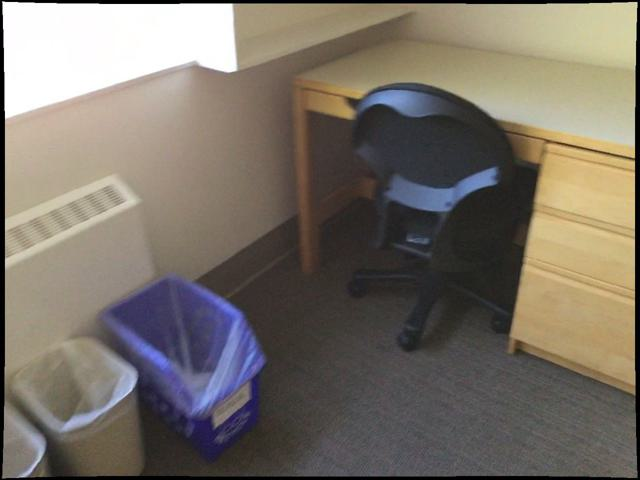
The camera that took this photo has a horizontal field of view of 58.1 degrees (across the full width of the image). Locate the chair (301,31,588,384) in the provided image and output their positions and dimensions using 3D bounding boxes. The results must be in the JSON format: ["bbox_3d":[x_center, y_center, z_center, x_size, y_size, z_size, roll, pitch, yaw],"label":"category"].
[{"bbox_3d":[0.379,-0.140,1.870,0.619,0.862,0.560,20,39,31],"label":"chair"}]

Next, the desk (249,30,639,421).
[{"bbox_3d":[0.549,-0.180,2.010,1.378,0.781,0.720,20,39,31],"label":"desk"}]
